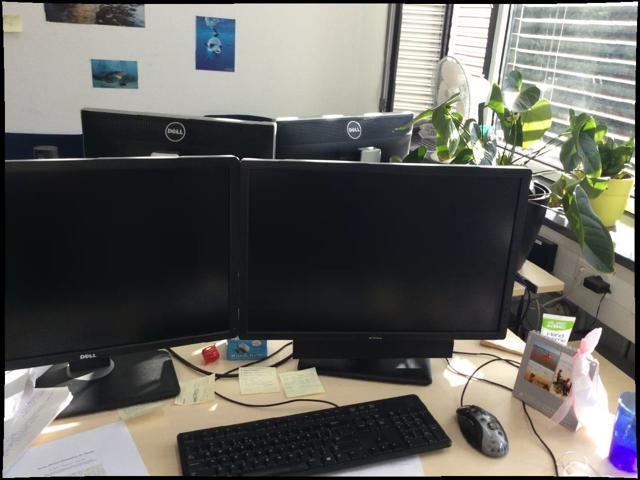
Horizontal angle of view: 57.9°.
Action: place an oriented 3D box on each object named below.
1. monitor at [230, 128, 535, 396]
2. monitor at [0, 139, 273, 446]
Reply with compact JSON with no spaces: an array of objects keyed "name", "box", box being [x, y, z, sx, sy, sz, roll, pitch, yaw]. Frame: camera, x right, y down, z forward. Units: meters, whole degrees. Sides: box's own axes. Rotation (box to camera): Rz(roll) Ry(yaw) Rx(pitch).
[{"name":"monitor","box":[0.130,0.040,1.160,0.549,0.440,0.130,-9,24,-9]},{"name":"monitor","box":[-0.400,0.080,1.050,0.579,0.450,0.220,-7,23,-18]}]
